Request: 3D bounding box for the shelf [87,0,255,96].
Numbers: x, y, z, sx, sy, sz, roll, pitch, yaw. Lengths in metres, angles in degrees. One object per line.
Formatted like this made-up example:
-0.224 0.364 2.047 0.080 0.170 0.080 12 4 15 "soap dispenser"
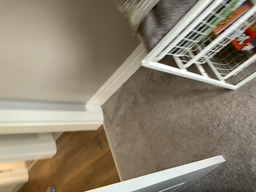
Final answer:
0.320 -0.400 0.840 0.600 0.700 0.510 -42 58 35 "shelf"
